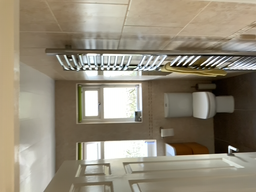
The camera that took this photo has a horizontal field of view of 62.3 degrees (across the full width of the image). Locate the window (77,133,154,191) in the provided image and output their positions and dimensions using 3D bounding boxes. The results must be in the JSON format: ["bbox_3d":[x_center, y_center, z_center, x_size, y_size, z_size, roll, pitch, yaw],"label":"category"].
[{"bbox_3d":[-0.200,1.270,3.420,0.330,1.180,1.270,154,115,-82],"label":"window"}]

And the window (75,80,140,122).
[{"bbox_3d":[-0.330,0.080,3.420,0.210,1.010,0.650,170,99,-82],"label":"window"}]
